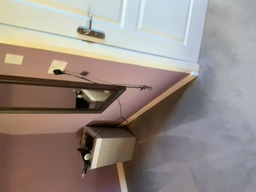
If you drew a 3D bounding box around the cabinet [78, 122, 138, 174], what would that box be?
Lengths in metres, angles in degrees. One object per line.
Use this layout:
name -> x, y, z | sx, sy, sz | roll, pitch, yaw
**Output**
cabinet -> -0.250, 0.590, 2.540 | 0.400, 0.530, 0.420 | 31, 112, 53
